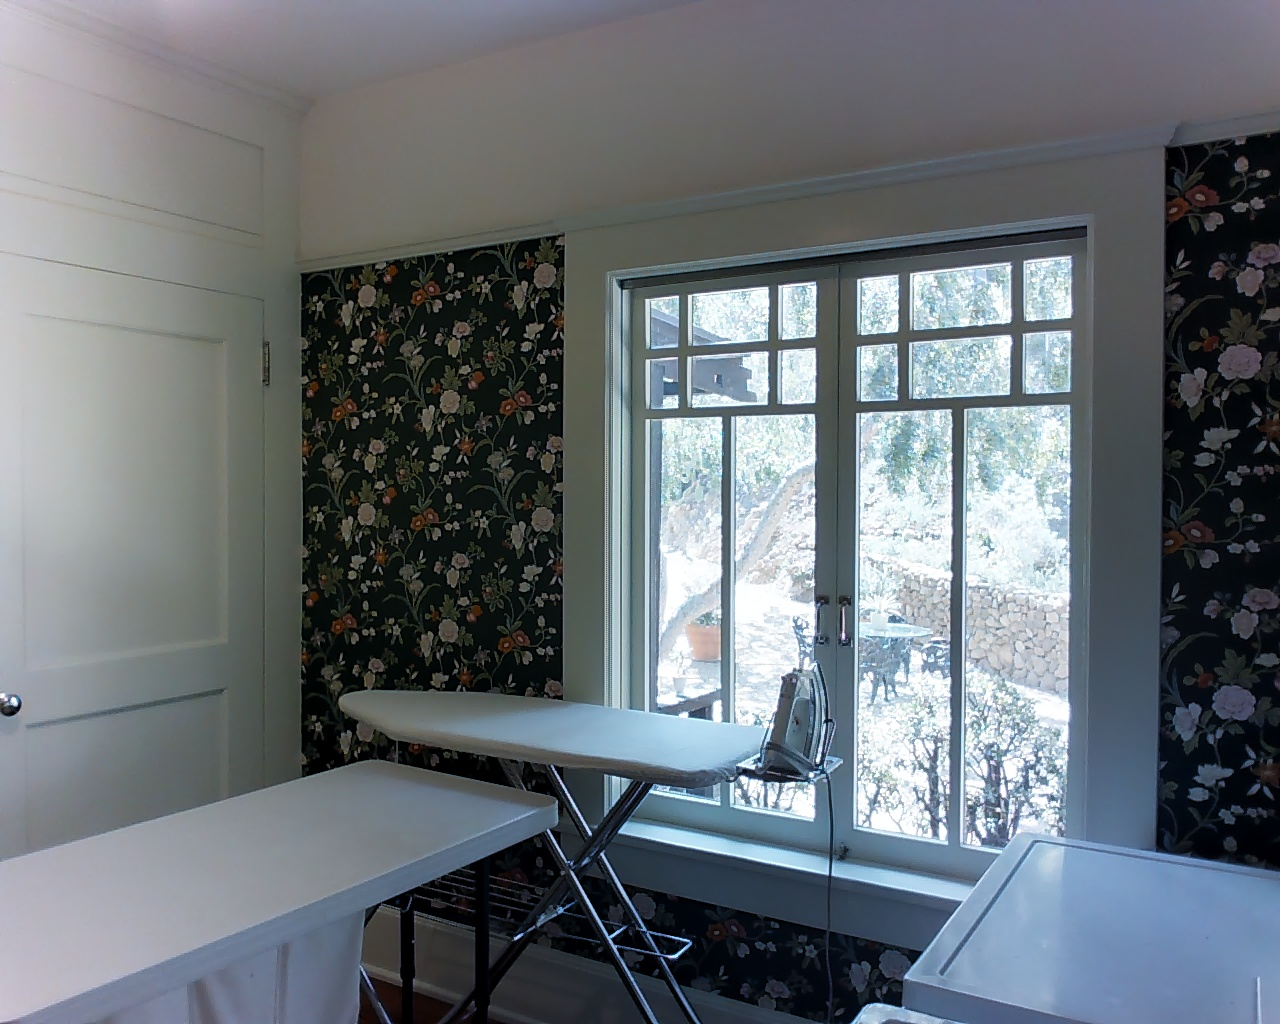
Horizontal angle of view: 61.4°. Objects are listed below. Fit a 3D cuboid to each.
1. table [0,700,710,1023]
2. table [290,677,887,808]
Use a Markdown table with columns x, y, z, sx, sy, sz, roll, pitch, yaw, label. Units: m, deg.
| x | y | z | sx | sy | sz | roll | pitch | yaw | label |
| --- | --- | --- | --- | --- | --- | --- | --- | --- | --- |
| -0.610 | 1.010 | 2.220 | 0.700 | 0.860 | 1.890 | 1 | 1 | 32 | table |
| -0.170 | 0.530 | 2.640 | 1.430 | 0.060 | 0.490 | 1 | 1 | 31 | table |
